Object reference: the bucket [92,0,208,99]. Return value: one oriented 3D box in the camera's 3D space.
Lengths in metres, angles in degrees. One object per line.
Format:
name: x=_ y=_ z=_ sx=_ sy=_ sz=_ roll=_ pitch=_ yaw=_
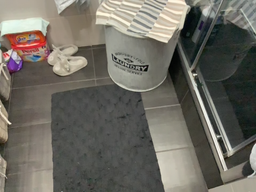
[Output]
bucket: x=0.080 y=-0.380 z=1.420 sx=0.550 sy=0.560 sz=0.520 roll=-9 pitch=62 yaw=-7
